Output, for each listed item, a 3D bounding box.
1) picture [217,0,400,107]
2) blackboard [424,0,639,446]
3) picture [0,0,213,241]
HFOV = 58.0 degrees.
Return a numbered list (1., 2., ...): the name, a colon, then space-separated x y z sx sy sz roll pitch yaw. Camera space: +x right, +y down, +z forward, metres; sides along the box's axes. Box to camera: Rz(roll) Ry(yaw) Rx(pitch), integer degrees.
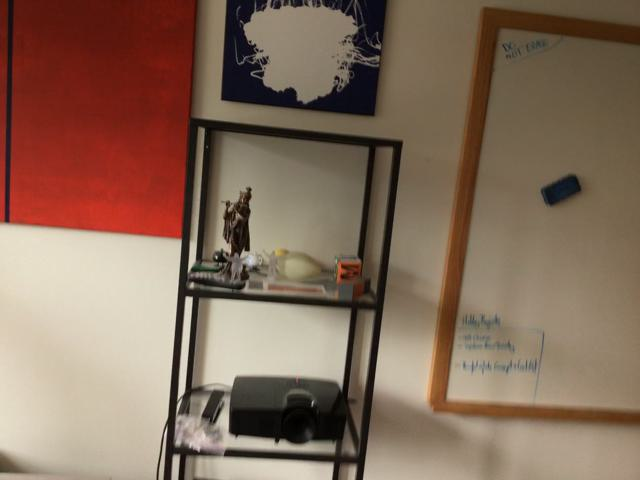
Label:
1. picture: -0.030 -0.690 1.590 0.500 0.630 0.050 -1 9 -7
2. blackboard: 0.830 -0.020 1.730 0.930 1.280 0.130 2 8 -7
3. picture: -0.960 -0.490 1.510 1.290 0.990 0.080 -2 9 -7
